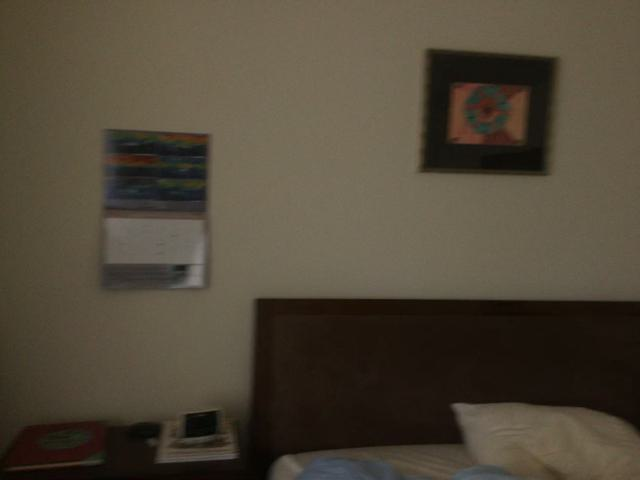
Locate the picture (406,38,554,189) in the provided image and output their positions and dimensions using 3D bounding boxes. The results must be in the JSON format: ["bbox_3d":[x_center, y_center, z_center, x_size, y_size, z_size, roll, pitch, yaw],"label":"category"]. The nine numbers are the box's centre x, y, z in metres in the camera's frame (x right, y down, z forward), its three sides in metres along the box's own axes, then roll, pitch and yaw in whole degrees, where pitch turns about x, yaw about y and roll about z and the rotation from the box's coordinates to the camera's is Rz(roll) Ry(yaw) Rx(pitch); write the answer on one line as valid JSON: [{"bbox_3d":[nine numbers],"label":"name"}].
[{"bbox_3d":[0.590,-0.460,2.140,0.540,0.530,0.070,0,1,-7],"label":"picture"}]

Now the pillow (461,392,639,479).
[{"bbox_3d":[0.820,0.650,1.890,0.670,0.160,0.440,0,1,10],"label":"pillow"}]
